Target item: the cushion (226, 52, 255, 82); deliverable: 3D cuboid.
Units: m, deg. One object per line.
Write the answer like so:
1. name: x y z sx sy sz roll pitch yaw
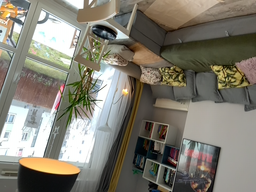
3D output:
1. cushion: 1.500 -0.340 2.620 0.380 0.220 0.430 6 169 46

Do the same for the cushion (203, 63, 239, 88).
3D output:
1. cushion: 1.310 -0.290 2.970 0.350 0.230 0.340 7 170 40
